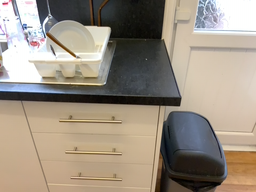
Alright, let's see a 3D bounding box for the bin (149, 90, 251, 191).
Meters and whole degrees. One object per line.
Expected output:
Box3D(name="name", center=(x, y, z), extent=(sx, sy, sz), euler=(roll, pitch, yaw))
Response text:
Box3D(name="bin", center=(0.350, 0.360, 1.300), extent=(0.340, 0.590, 0.540), euler=(1, 33, -1))
